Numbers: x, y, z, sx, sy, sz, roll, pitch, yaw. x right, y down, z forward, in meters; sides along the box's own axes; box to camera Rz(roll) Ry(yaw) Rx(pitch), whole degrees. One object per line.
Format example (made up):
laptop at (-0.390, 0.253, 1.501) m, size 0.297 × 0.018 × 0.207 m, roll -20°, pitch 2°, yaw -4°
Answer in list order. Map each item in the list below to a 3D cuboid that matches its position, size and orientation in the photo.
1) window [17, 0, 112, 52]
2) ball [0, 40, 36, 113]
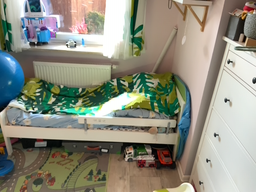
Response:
window at (-0.710, -1.410, 2.370) m, size 1.060 × 1.770 × 0.180 m, roll 1°, pitch 27°, yaw -6°
ball at (-1.350, -0.220, 2.080) m, size 0.600 × 0.500 × 0.640 m, roll 1°, pitch 27°, yaw -6°
